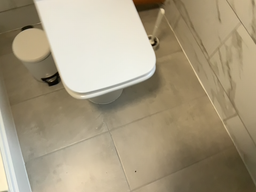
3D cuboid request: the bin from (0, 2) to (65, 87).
[{"bbox_3d":[-0.460,-0.240,1.050,0.180,0.260,0.280,-17,74,-10],"label":"bin"}]
